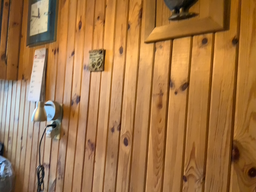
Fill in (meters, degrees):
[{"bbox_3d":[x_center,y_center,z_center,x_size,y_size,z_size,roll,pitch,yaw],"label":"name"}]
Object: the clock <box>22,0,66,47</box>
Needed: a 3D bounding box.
[{"bbox_3d":[-0.490,-0.470,1.230,0.330,0.320,0.060,3,-2,38],"label":"clock"}]
